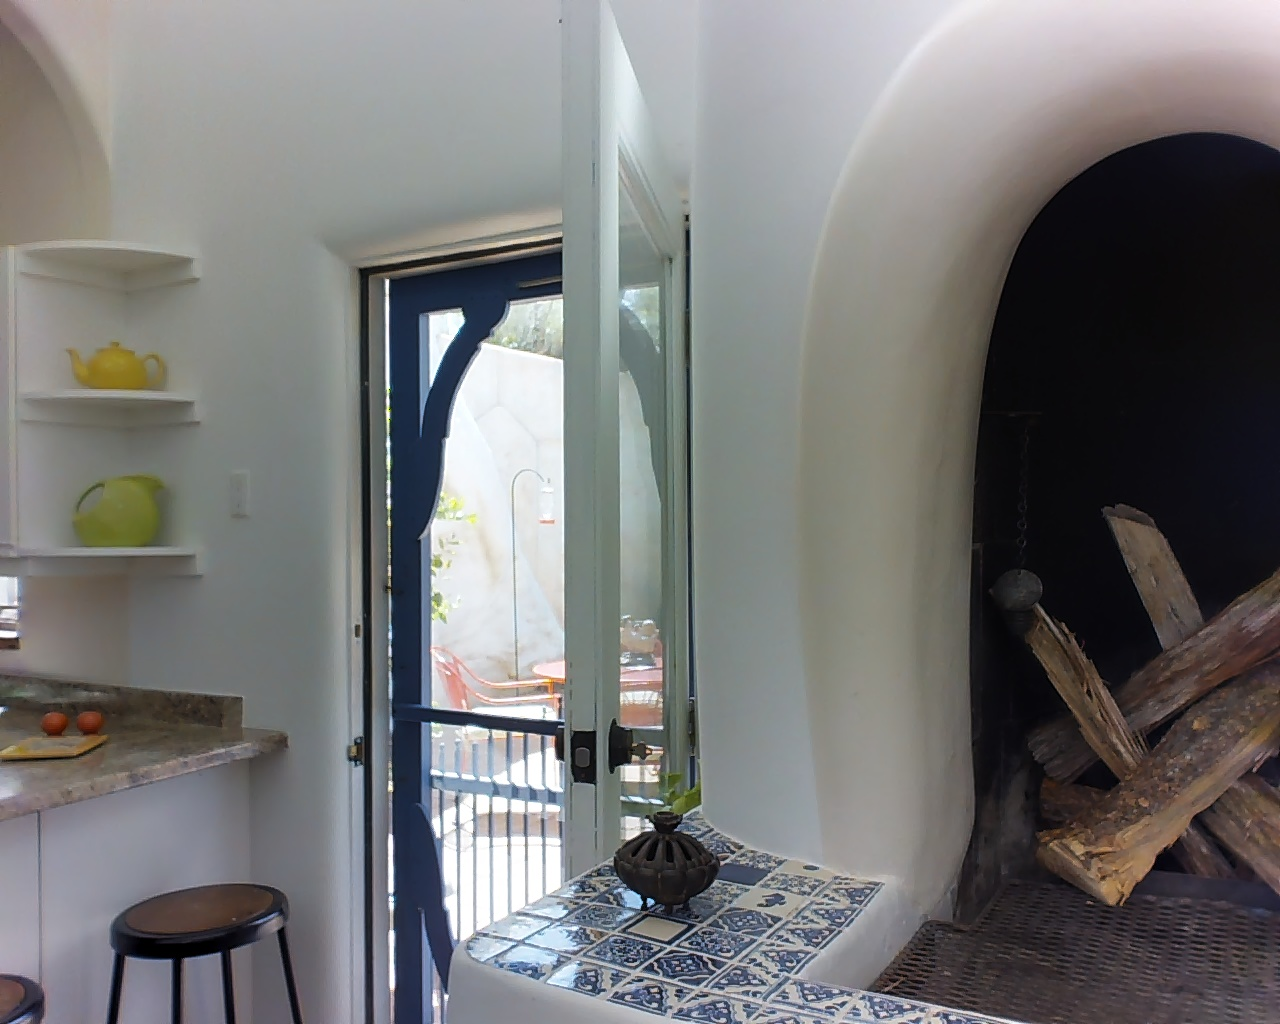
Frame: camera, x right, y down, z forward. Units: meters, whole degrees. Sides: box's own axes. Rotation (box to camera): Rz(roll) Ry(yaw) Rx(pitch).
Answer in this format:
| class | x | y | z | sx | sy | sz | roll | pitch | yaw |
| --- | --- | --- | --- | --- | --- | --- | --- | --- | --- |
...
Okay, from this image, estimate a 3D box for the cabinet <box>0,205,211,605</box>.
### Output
| class | x | y | z | sx | sy | sz | roll | pitch | yaw |
| --- | --- | --- | --- | --- | --- | --- | --- | --- | --- |
| cabinet | -1.520 | -0.240 | 2.780 | 0.800 | 0.910 | 0.330 | 0 | -1 | 30 |
